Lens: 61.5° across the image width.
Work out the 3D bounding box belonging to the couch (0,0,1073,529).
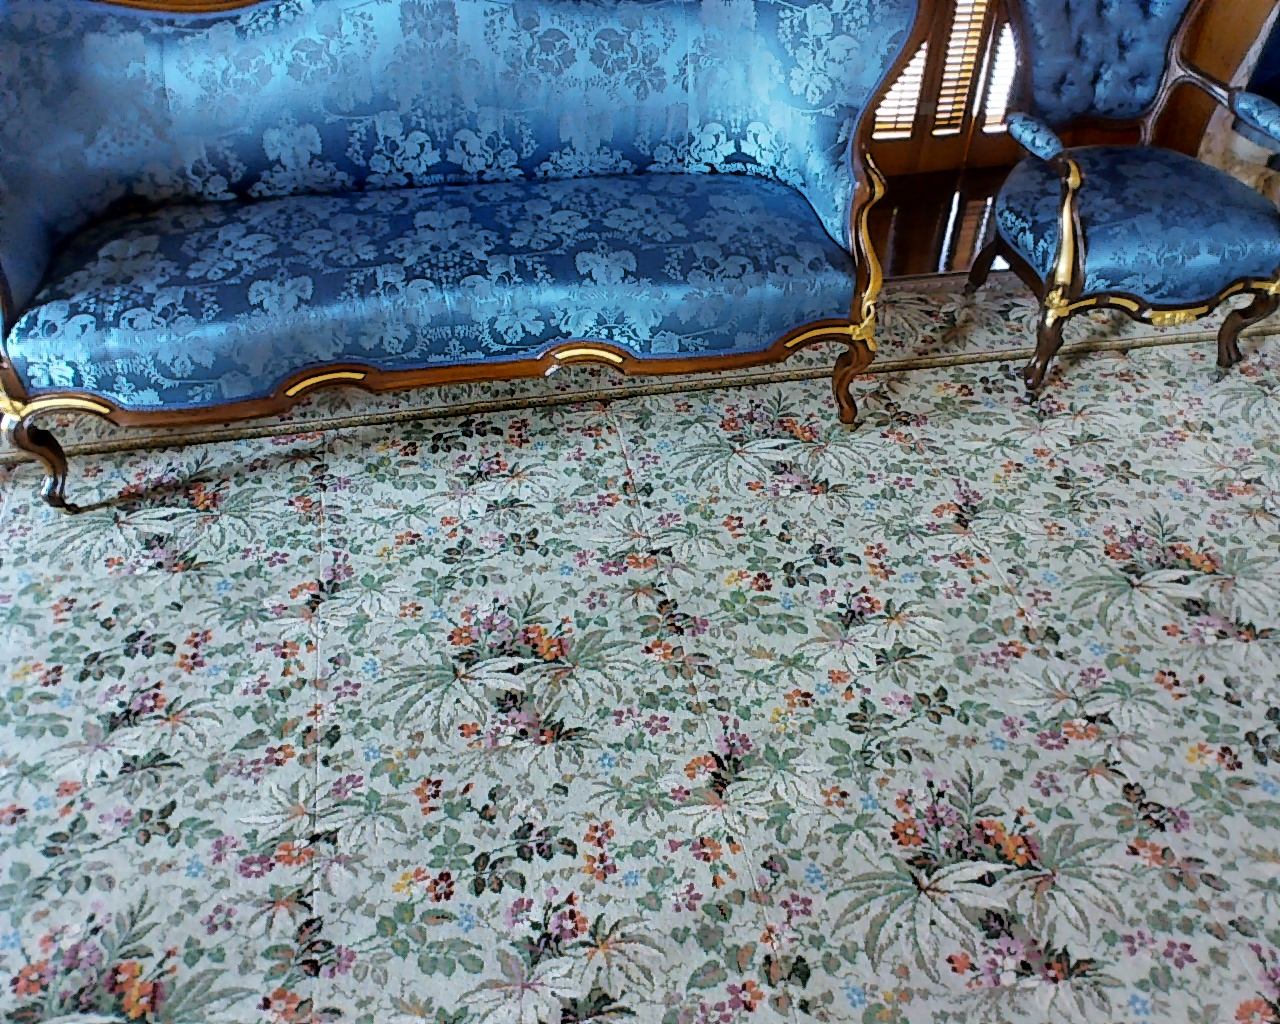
[{"bbox_3d":[-0.420,-0.760,2.340,2.220,1.010,0.910,-7,44,-8],"label":"couch"}]
